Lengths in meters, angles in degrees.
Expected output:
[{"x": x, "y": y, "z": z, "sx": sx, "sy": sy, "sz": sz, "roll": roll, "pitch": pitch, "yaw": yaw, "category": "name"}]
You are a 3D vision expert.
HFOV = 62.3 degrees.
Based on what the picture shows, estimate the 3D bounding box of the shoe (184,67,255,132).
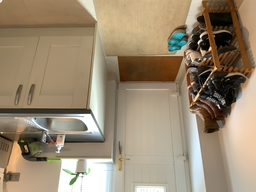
[{"x": 0.710, "y": 0.070, "z": 1.770, "sx": 0.250, "sy": 0.250, "sz": 0.750, "roll": 1, "pitch": 155, "yaw": -2, "category": "shoe"}]

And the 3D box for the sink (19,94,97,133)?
[{"x": -0.580, "y": 0.170, "z": 1.890, "sx": 0.520, "sy": 0.190, "sz": 0.480, "roll": 0, "pitch": 155, "yaw": 1, "category": "sink"}]

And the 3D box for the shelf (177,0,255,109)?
[{"x": 0.720, "y": -0.340, "z": 1.950, "sx": 0.280, "sy": 0.670, "sz": 0.790, "roll": 1, "pitch": 155, "yaw": -1, "category": "shelf"}]

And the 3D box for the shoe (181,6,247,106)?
[{"x": 0.730, "y": -0.330, "z": 1.980, "sx": 0.250, "sy": 0.600, "sz": 0.730, "roll": 0, "pitch": 155, "yaw": 0, "category": "shoe"}]
